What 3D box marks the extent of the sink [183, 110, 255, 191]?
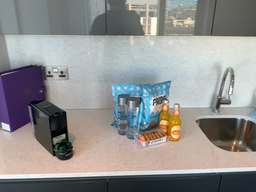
[{"bbox_3d":[0.620,0.310,1.280,0.410,0.270,0.470,0,21,-3],"label":"sink"}]
